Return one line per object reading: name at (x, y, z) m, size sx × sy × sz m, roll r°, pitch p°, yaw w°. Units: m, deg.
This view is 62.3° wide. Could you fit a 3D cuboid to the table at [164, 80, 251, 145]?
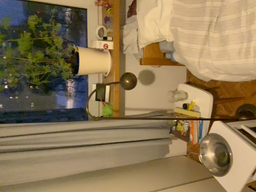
table at (0.580, 0.090, 1.620) m, size 0.420 × 0.400 × 0.380 m, roll -157°, pitch 68°, yaw -63°
